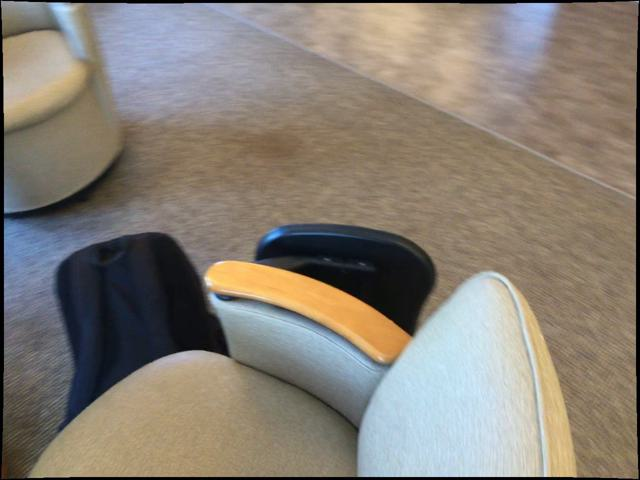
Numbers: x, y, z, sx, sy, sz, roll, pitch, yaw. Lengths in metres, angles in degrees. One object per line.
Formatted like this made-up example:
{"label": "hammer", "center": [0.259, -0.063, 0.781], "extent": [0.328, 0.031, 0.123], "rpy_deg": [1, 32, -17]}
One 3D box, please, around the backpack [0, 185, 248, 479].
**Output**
{"label": "backpack", "center": [-0.519, 0.221, 1.430], "extent": [0.519, 0.350, 0.490], "rpy_deg": [-17, 52, -13]}
